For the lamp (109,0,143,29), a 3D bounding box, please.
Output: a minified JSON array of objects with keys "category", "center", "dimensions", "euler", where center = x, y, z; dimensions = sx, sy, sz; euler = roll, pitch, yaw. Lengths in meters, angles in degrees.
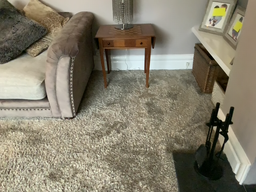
[{"category":"lamp","center":[-0.010,-0.860,2.090],"dimensions":[0.310,0.330,0.260],"euler":[1,33,3]}]
